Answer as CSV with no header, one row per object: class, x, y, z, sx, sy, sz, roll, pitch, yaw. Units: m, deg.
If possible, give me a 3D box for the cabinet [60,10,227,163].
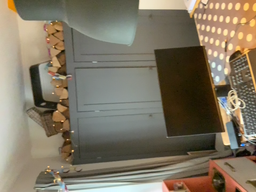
cabinet,0.230,-0.130,2.670,0.320,1.910,1.730,-134,42,-77
